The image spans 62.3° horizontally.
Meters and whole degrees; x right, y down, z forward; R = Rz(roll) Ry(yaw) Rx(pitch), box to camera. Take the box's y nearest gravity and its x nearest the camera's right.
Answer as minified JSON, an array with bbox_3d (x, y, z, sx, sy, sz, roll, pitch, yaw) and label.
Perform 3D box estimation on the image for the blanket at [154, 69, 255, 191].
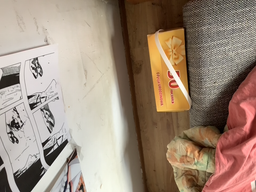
[{"bbox_3d":[0.350,0.380,0.820,0.490,0.210,0.910,4,109,8],"label":"blanket"}]
